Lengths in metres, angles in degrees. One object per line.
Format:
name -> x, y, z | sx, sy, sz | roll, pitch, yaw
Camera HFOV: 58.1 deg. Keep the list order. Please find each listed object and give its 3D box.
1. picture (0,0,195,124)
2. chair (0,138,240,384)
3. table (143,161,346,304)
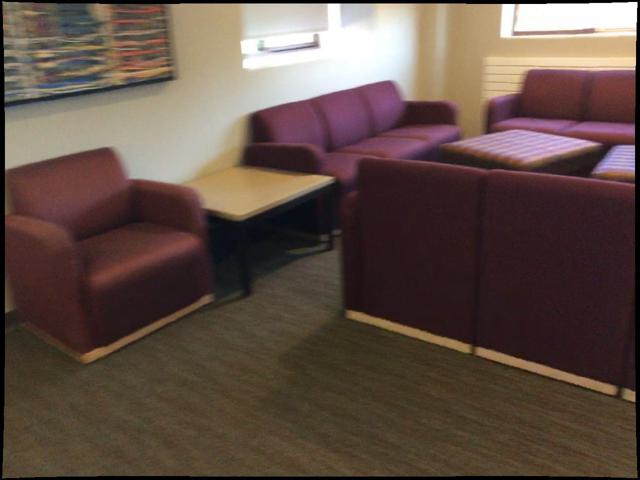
picture -> -1.227, -1.043, 2.720 | 0.150, 0.822, 1.379 | 13, 28, 36
chair -> -1.007, 0.020, 2.780 | 0.779, 0.792, 0.849 | 13, 28, 36
table -> -0.419, -0.100, 3.420 | 0.779, 0.461, 0.859 | 13, 28, 36
